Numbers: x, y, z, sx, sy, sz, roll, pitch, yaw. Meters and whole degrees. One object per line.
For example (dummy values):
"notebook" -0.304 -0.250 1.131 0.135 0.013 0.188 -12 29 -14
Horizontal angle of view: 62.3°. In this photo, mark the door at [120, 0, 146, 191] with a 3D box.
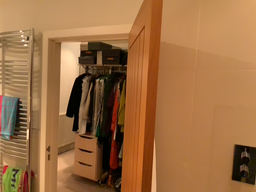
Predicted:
"door" -0.020 0.560 1.150 0.020 1.930 0.810 3 5 -3
